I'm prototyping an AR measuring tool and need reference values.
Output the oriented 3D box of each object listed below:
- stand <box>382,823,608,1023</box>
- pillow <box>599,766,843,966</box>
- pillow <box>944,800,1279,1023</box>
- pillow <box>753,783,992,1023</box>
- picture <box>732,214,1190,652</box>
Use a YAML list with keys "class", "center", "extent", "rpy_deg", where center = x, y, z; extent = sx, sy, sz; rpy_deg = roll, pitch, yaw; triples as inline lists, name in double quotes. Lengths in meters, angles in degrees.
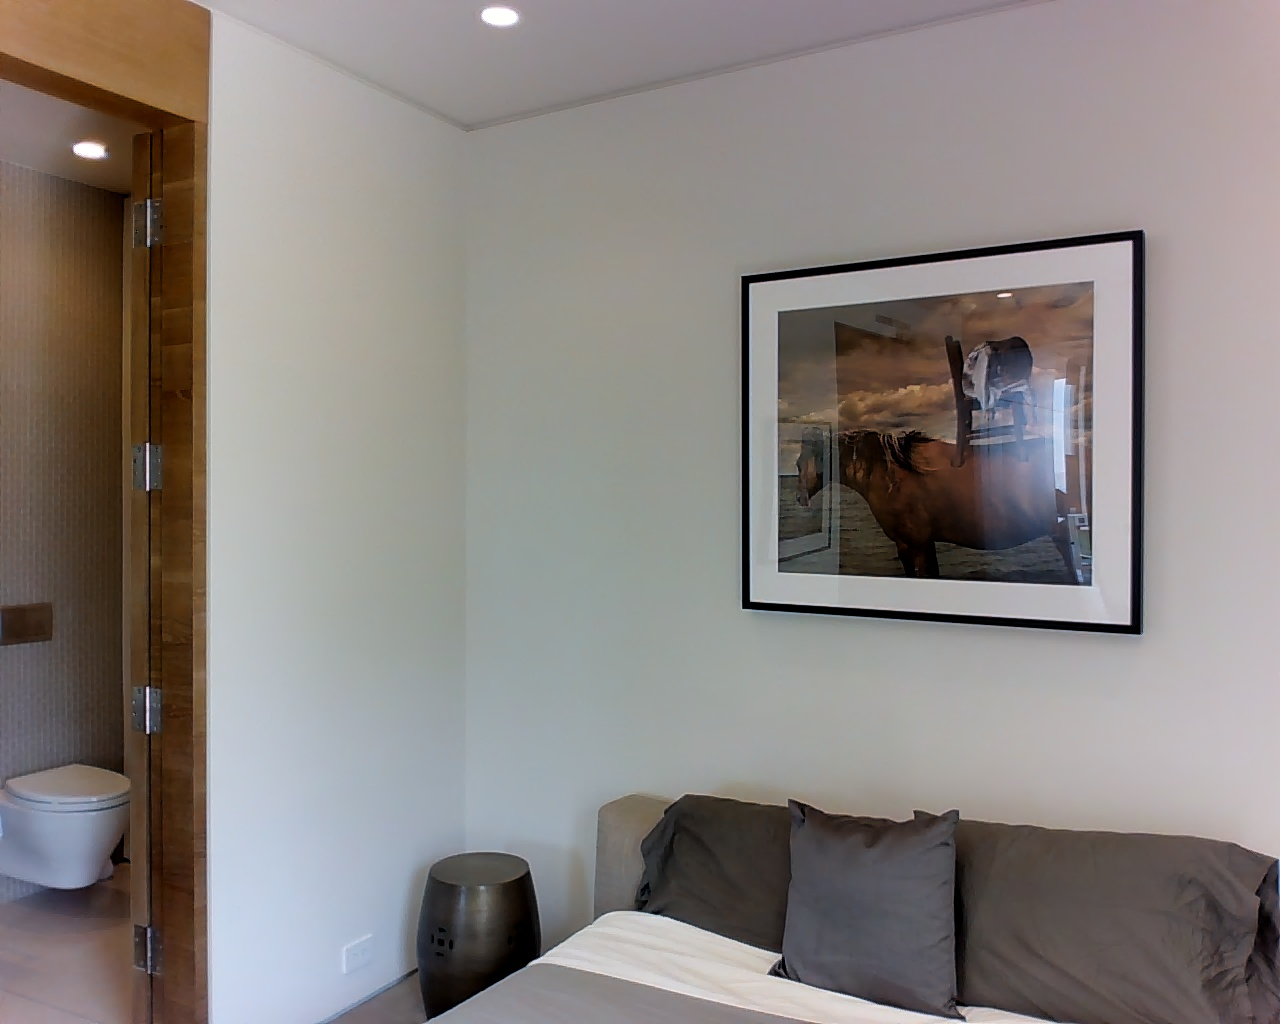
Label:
- class: "stand"
  center: [-0.420, 1.250, 3.210]
  extent: [0.420, 0.440, 0.540]
  rpy_deg: [1, 1, 31]
- class: "pillow"
  center: [0.210, 0.900, 2.770]
  extent: [0.520, 0.380, 0.230]
  rpy_deg: [-1, -24, 33]
- class: "pillow"
  center: [0.990, 0.850, 2.250]
  extent: [0.620, 0.390, 0.230]
  rpy_deg: [1, -12, 31]
- class: "pillow"
  center: [0.530, 0.850, 2.410]
  extent: [0.450, 0.410, 0.280]
  rpy_deg: [3, -12, 23]
- class: "picture"
  center: [0.760, -0.180, 2.730]
  extent: [1.120, 0.980, 0.080]
  rpy_deg: [1, 1, 31]
